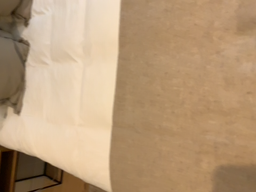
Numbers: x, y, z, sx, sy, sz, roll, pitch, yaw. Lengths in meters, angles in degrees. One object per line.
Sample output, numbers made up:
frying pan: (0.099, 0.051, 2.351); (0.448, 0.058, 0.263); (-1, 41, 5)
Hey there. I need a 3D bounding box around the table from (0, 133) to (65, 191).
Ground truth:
table: (-0.920, 0.590, 1.880); (0.290, 0.610, 0.430); (5, 89, 36)
